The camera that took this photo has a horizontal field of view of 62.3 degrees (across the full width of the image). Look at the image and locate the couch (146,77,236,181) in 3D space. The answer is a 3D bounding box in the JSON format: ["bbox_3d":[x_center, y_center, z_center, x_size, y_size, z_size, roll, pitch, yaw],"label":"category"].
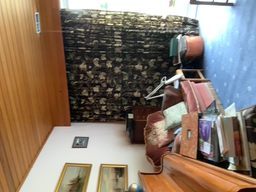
[{"bbox_3d":[0.690,0.430,2.790,0.930,0.740,0.980,-91,3,-49],"label":"couch"}]
